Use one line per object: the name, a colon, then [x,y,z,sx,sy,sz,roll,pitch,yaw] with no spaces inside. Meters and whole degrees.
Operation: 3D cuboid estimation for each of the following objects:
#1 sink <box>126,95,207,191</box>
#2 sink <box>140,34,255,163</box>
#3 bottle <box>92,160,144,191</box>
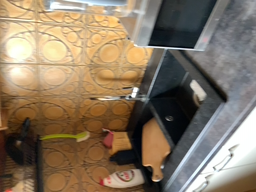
sink: [0.180,0.280,1.240,0.440,0.190,0.370,-114,31,-43]
sink: [0.270,0.000,1.000,0.440,0.190,0.390,-114,31,-43]
bottle: [-0.060,0.480,1.260,0.140,0.270,0.080,-113,31,-42]
